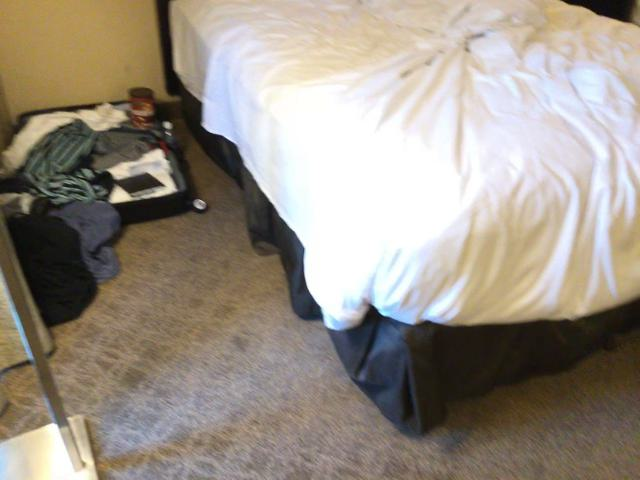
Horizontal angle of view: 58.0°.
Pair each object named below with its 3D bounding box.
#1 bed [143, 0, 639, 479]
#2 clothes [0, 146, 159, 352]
[{"bbox_3d":[0.460,-0.680,1.980,1.730,1.400,2.300,-15,37,-18],"label":"bed"},{"bbox_3d":[-0.860,-0.020,1.950,0.450,0.240,0.730,-15,37,-18],"label":"clothes"}]
